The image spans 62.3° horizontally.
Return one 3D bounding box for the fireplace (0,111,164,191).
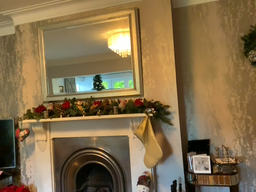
[{"bbox_3d":[-0.420,0.810,2.280,1.500,1.180,0.750,-5,-2,13],"label":"fireplace"}]
